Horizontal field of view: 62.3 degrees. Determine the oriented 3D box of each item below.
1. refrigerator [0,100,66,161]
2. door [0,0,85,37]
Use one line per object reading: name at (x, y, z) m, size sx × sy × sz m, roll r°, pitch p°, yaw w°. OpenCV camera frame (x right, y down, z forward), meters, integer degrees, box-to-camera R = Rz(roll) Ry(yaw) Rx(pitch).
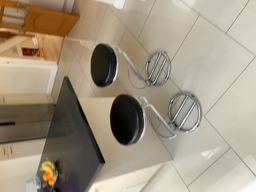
refrigerator at (-2.350, 0.690, 4.330) m, size 0.930 × 1.800 × 0.670 m, roll 57°, pitch 133°, yaw 35°
door at (-1.850, -1.320, 3.390) m, size 0.790 × 2.150 × 0.140 m, roll -20°, pitch 76°, yaw 52°
